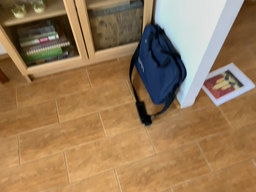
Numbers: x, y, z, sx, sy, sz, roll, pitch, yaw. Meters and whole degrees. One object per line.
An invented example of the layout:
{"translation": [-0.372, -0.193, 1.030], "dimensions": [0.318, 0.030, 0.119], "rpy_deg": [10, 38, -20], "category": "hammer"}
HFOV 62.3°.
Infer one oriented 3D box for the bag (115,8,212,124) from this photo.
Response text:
{"translation": [0.150, -0.160, 1.150], "dimensions": [0.280, 0.350, 0.440], "rpy_deg": [-21, 60, -12], "category": "bag"}
